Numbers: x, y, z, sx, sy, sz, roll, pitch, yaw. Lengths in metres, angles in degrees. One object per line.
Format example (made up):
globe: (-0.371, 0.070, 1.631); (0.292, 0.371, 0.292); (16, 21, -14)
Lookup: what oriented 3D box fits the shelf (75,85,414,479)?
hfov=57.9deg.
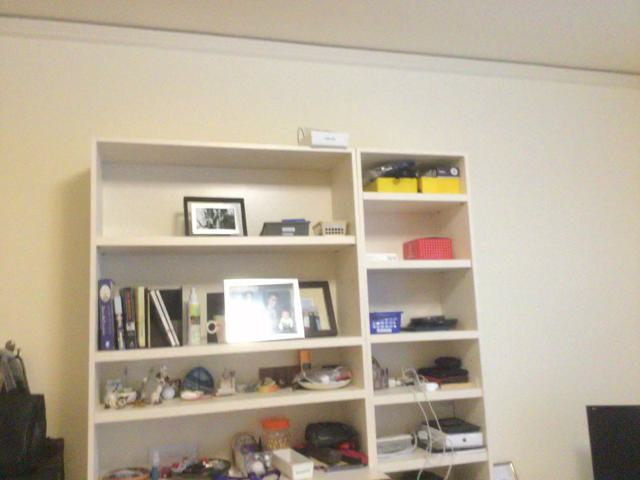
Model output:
shelf: (-0.250, 0.680, 1.880); (0.960, 2.190, 0.510); (0, -7, -17)

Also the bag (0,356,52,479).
bag: (-1.010, 0.560, 1.780); (0.310, 0.370, 0.190); (0, -7, -17)

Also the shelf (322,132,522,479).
shelf: (0.360, 0.350, 2.160); (0.570, 1.420, 0.340); (0, -7, -17)

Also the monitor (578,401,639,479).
monitor: (1.280, 0.830, 2.170); (0.500, 0.410, 0.200); (-4, -7, 9)
